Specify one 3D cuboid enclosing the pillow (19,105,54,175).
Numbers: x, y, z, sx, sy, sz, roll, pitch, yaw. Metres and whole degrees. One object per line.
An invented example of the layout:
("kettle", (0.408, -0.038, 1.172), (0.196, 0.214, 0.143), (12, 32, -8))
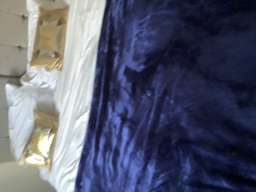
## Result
("pillow", (-0.730, 0.350, 1.730), (0.130, 0.270, 0.470), (10, 110, 7))
